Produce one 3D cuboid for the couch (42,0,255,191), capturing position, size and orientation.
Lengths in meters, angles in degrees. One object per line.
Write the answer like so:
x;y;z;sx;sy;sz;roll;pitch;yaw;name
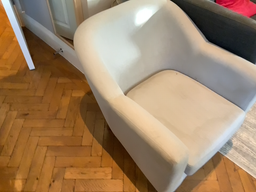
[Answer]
0.170;-0.020;1.200;0.830;0.720;0.750;38;58;25;couch
